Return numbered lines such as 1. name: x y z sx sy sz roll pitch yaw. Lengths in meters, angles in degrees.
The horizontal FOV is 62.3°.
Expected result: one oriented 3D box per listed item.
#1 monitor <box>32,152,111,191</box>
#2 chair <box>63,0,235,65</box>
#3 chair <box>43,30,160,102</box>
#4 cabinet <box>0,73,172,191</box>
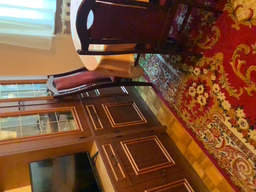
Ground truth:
1. monitor: -0.310 0.710 1.330 0.730 0.460 0.050 58 141 41
2. chair: 0.120 -0.490 1.360 0.450 0.930 0.390 57 140 42
3. chair: -0.270 -0.290 2.060 0.440 0.970 0.450 57 140 42
4. cabinet: -0.850 0.250 1.850 0.910 2.290 0.480 55 138 44
